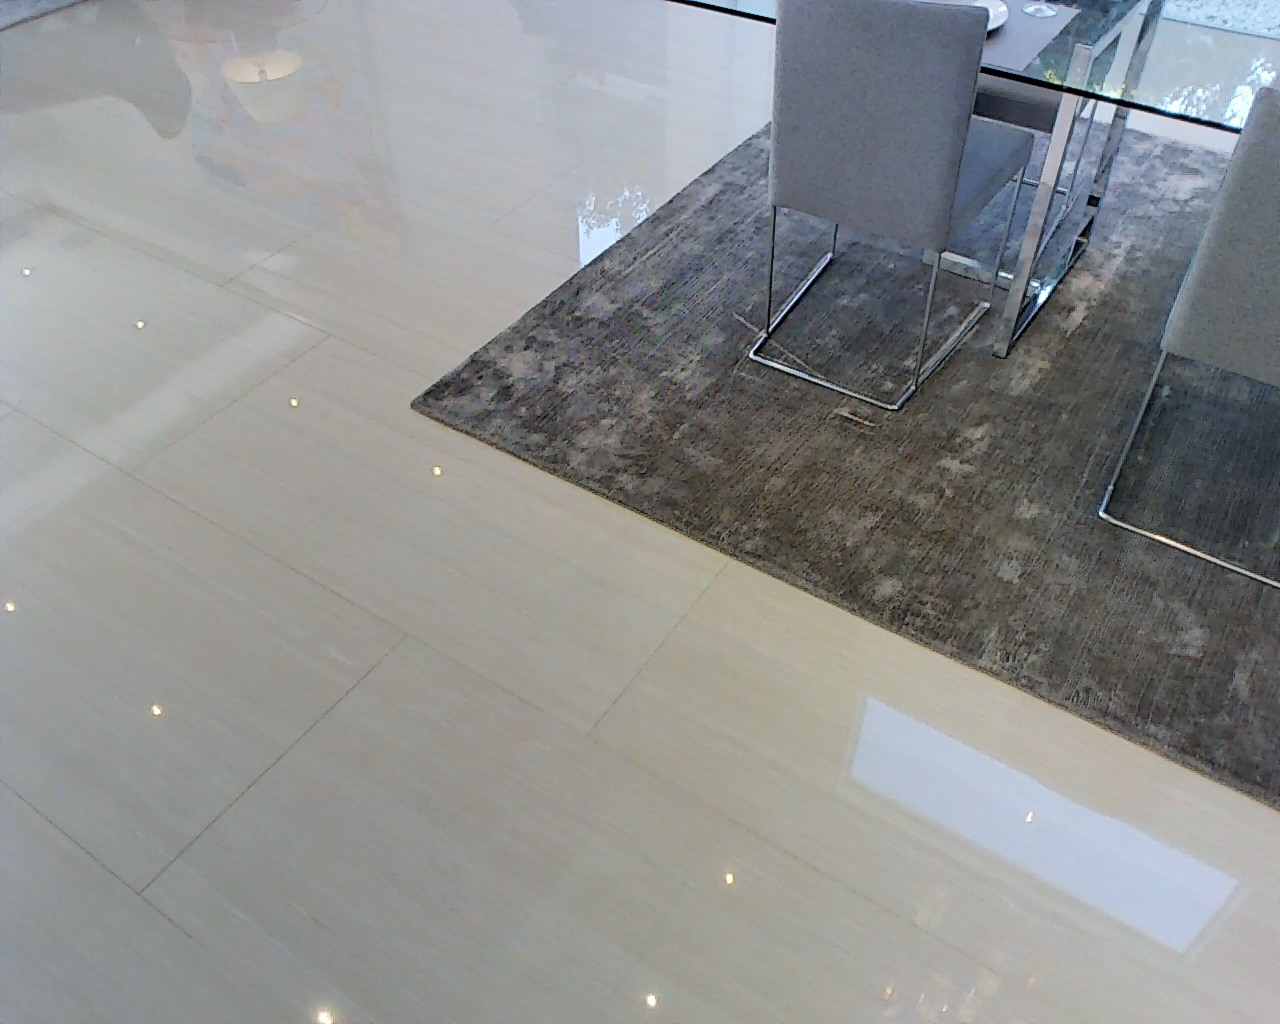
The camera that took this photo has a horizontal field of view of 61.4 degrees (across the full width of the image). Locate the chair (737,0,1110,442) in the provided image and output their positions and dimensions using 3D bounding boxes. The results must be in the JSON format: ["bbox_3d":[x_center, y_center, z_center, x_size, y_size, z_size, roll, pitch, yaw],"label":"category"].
[{"bbox_3d":[0.600,-0.750,2.340,0.480,0.900,0.620,25,50,24],"label":"chair"}]

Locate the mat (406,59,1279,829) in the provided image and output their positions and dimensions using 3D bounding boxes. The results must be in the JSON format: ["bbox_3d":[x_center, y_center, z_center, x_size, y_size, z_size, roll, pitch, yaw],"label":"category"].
[{"bbox_3d":[1.470,-0.280,2.500,3.280,0.080,2.300,25,50,24],"label":"mat"}]
